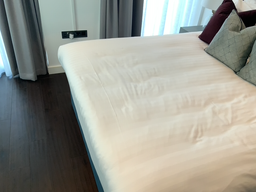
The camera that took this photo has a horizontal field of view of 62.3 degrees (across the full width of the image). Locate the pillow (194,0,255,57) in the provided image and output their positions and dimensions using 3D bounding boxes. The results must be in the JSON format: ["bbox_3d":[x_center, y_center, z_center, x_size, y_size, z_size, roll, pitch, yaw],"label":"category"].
[{"bbox_3d":[0.870,-0.620,1.950,0.220,0.380,0.340,-2,51,-24],"label":"pillow"}]
